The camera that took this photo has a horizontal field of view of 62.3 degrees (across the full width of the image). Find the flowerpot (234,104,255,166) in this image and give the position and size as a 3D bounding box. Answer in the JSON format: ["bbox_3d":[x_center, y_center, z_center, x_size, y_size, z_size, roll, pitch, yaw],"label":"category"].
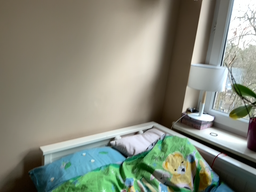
[{"bbox_3d":[0.770,0.230,1.260,0.130,0.320,0.150,-6,19,-43],"label":"flowerpot"}]
